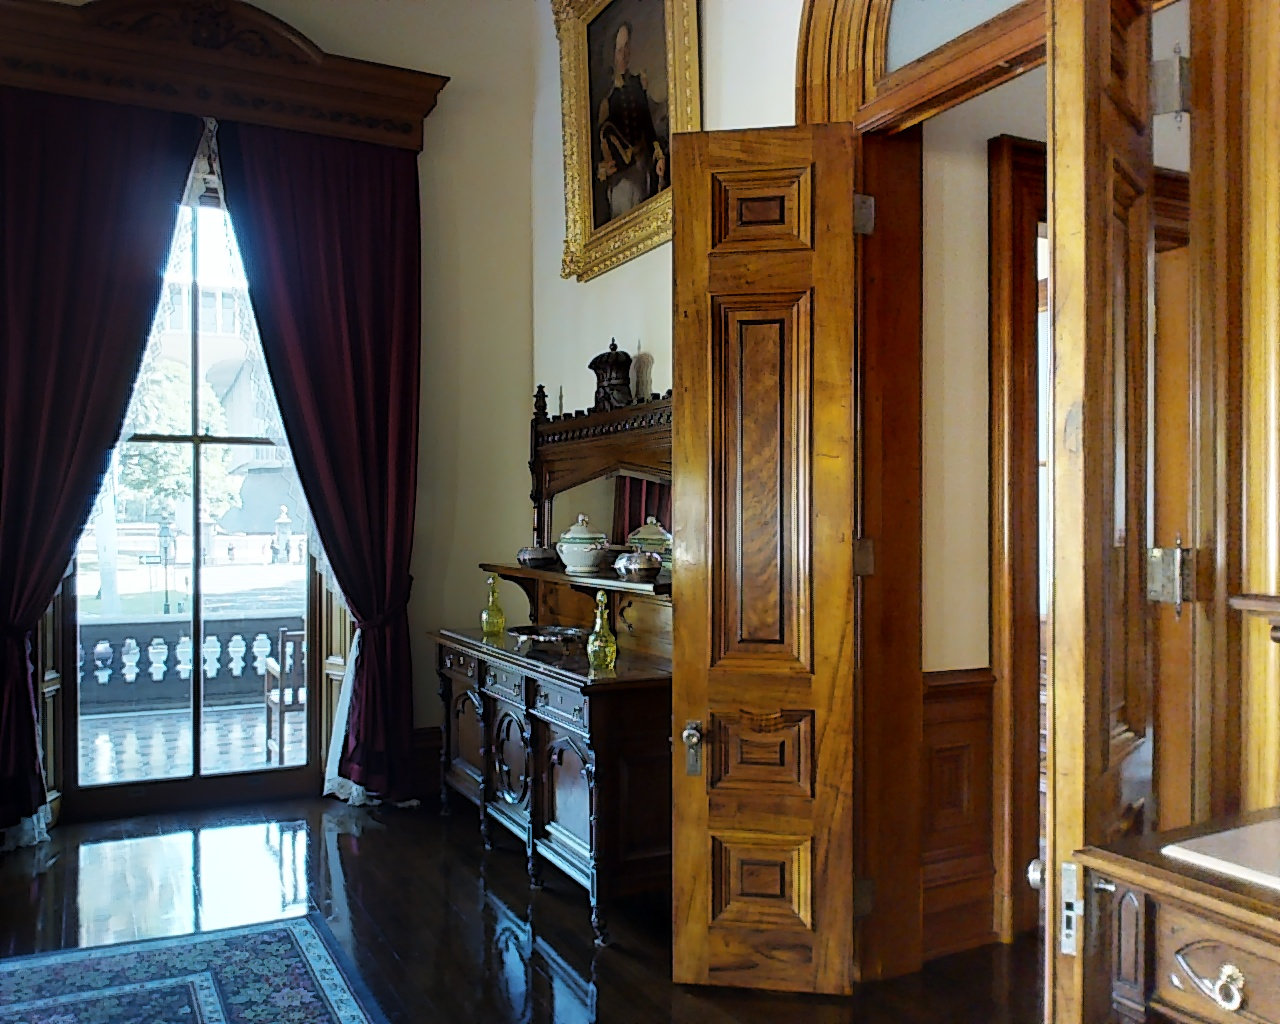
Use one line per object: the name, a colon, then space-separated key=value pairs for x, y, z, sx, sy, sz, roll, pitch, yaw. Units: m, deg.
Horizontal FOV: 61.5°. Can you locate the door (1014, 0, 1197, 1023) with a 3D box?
door: x=1.050 y=0.090 z=2.400 sx=0.150 sy=2.870 sz=0.590 roll=1 pitch=1 yaw=45

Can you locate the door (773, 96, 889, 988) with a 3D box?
door: x=0.640 y=0.100 z=3.600 sx=0.350 sy=2.860 sz=0.240 roll=0 pitch=1 yaw=11

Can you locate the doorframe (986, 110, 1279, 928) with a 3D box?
doorframe: x=2.030 y=0.030 z=4.310 sx=1.530 sy=2.970 sz=0.150 roll=0 pitch=1 yaw=-26
